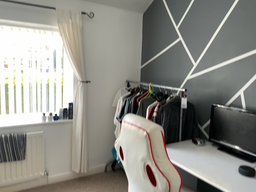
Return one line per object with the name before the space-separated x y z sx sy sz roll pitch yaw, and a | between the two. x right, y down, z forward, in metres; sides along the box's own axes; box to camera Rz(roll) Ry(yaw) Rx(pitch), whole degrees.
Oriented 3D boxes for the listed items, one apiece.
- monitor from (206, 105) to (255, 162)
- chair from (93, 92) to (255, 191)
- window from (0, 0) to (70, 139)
monitor | 0.850 0.280 1.650 0.040 0.340 0.520 -2 9 -31
chair | 0.230 0.610 1.290 0.680 1.190 0.630 -2 9 -33
window | -1.570 -0.270 1.960 1.950 1.350 0.370 -2 9 -30
